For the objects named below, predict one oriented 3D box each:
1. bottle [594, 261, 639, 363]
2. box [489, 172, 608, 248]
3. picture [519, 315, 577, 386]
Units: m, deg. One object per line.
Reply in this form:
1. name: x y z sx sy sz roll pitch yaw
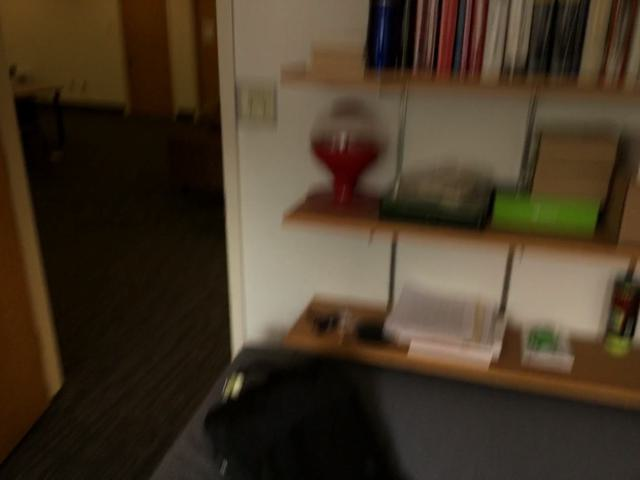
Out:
1. bottle: 0.820 0.190 1.550 0.100 0.210 0.160 9 23 17
2. box: 0.550 -0.080 1.410 0.240 0.100 0.190 9 23 17
3. picture: 0.610 0.290 1.560 0.130 0.040 0.260 9 23 17
